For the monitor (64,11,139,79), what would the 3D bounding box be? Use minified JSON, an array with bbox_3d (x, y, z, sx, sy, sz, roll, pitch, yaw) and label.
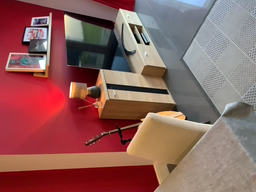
[{"bbox_3d":[-0.440,-0.780,3.040,1.440,0.880,0.080,-109,33,-43],"label":"monitor"}]
